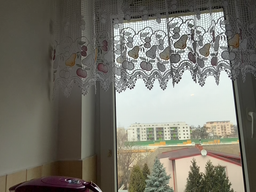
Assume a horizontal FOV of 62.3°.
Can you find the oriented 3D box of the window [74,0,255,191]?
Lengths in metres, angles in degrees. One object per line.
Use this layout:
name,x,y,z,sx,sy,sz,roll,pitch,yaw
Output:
window,0.270,-0.110,0.900,0.990,1.840,0.150,-4,-9,11
